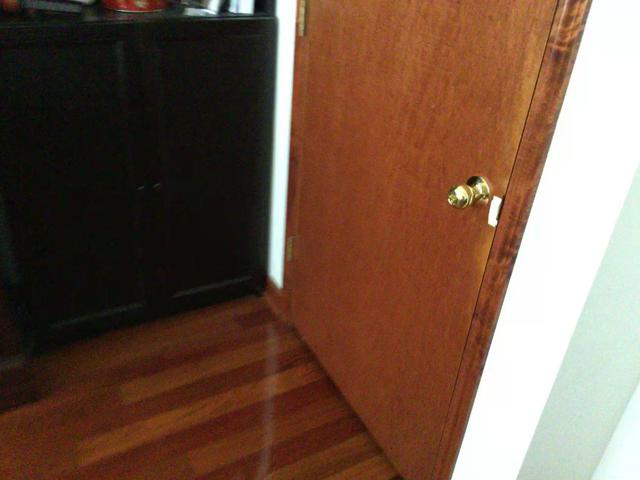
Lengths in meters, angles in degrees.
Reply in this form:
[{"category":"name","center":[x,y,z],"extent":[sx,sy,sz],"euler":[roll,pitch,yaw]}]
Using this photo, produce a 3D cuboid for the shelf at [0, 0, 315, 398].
[{"category":"shelf","center":[-0.540,-0.590,1.590],"extent":[0.950,1.970,0.440],"euler":[-14,35,-29]}]
